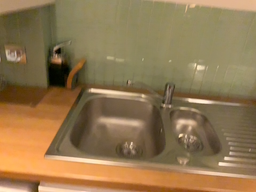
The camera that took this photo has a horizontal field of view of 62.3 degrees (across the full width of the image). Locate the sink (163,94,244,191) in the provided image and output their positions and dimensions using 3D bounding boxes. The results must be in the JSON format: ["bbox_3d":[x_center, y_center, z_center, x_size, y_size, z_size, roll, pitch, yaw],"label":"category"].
[{"bbox_3d":[0.260,0.170,0.870,0.160,0.120,0.520,6,27,0],"label":"sink"}]

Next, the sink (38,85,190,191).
[{"bbox_3d":[-0.040,0.180,0.890,0.440,0.210,0.520,6,27,0],"label":"sink"}]
